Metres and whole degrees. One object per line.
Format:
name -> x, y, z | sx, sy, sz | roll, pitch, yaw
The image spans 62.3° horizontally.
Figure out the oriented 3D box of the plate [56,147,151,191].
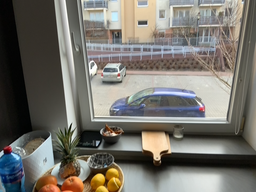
plate -> -0.100, 0.450, 1.160 | 0.430, 0.140, 0.360 | 2, 17, 8
